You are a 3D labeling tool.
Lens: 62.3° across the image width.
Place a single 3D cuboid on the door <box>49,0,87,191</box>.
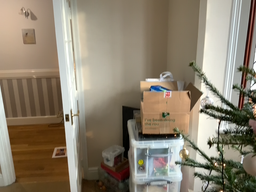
[{"bbox_3d":[-0.500,0.030,1.940,0.070,2.040,0.970,-3,16,-8],"label":"door"}]
